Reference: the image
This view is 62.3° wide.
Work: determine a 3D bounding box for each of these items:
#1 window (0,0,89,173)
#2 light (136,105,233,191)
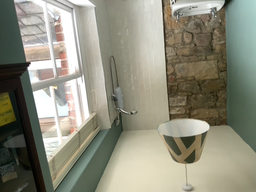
[{"bbox_3d":[-0.590,-0.160,1.750,0.110,0.890,1.200,-4,102,8],"label":"window"},{"bbox_3d":[0.440,0.430,1.660,0.480,0.430,0.480,-30,111,-23],"label":"light"}]
